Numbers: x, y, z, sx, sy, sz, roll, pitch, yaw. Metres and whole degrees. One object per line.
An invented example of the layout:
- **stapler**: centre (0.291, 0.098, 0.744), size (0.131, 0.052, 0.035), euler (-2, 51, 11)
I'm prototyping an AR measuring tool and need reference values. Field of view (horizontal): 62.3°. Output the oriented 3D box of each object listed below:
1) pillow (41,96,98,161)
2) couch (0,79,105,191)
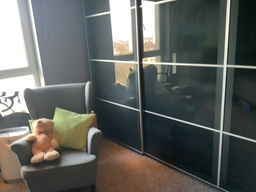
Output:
- **pillow**: centre (-0.620, 0.350, 2.280), size (0.410, 0.520, 0.290), euler (21, 22, -14)
- **couch**: centre (-0.710, 0.420, 2.250), size (0.800, 0.990, 0.900), euler (-5, 15, -9)
